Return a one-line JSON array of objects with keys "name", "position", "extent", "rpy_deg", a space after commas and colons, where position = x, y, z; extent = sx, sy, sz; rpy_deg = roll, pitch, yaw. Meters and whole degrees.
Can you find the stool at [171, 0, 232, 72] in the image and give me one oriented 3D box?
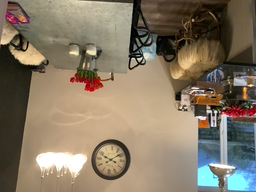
[{"name": "stool", "position": [0.830, -0.700, 2.510], "extent": [0.510, 0.680, 0.530], "rpy_deg": [3, 171, -3]}]
